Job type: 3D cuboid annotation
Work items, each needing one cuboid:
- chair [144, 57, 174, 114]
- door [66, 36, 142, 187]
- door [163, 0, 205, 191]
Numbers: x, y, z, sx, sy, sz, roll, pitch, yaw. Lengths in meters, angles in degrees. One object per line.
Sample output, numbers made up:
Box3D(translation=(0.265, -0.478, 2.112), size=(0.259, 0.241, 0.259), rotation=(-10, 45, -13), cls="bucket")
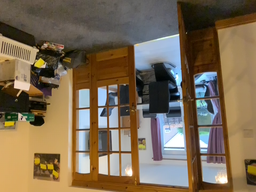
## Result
Box3D(translation=(0.580, -0.180, 4.160), size=(0.420, 1.040, 0.530), rotation=(-2, 172, -5), cls="chair")
Box3D(translation=(-0.420, 0.230, 3.270), size=(1.140, 2.060, 0.290), rotation=(-6, 171, 26), cls="door")
Box3D(translation=(0.650, 0.080, 2.370), size=(0.160, 2.070, 0.950), rotation=(-6, 172, 23), cls="door")
